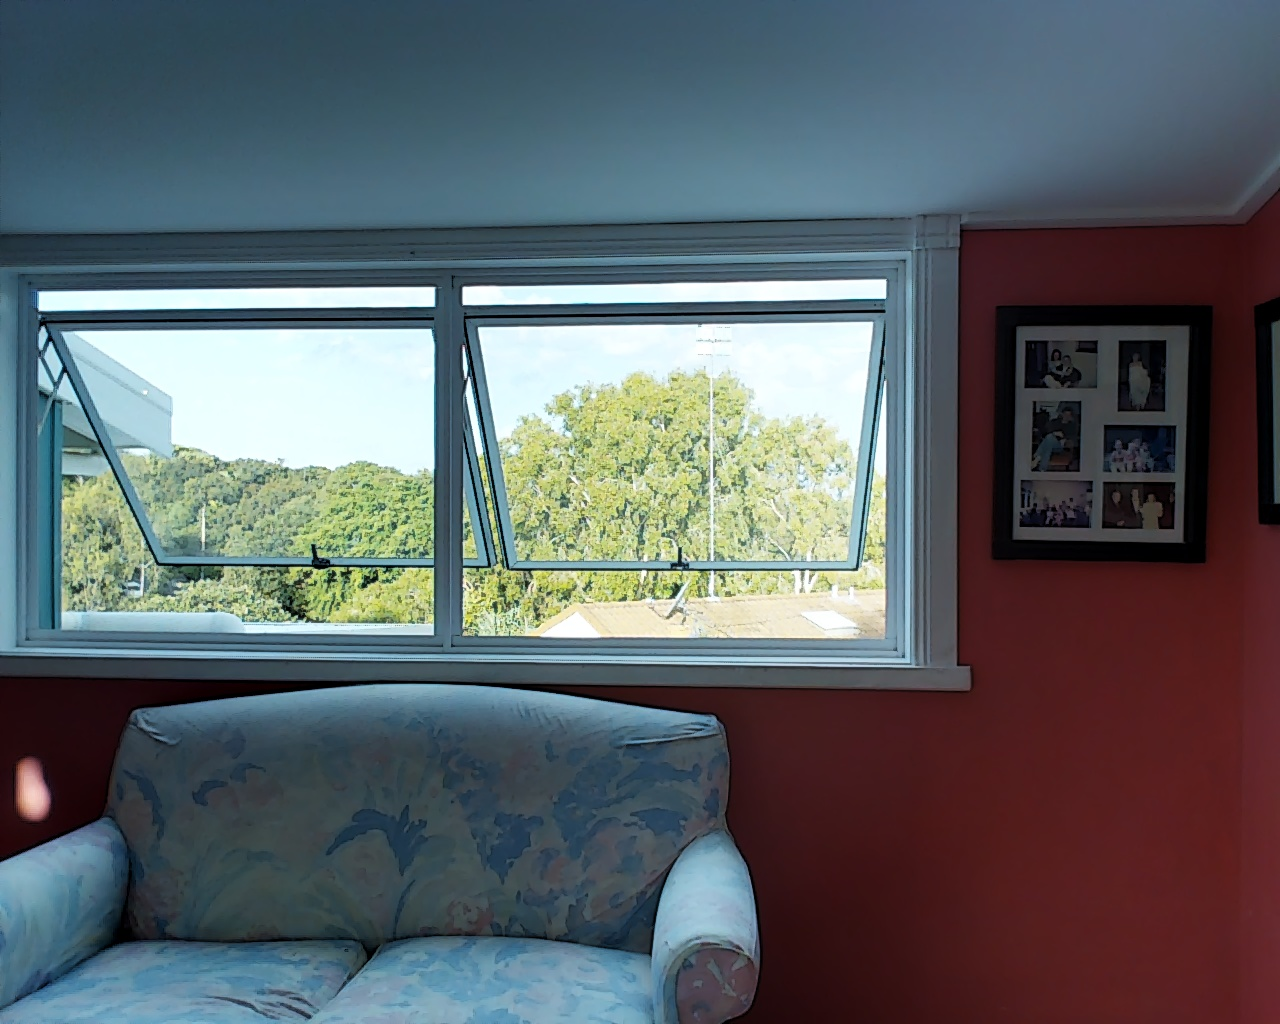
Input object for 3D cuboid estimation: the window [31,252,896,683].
[{"bbox_3d":[-0.440,-0.100,2.560,2.049,0.970,0.100,0,1,5],"label":"window"}]
